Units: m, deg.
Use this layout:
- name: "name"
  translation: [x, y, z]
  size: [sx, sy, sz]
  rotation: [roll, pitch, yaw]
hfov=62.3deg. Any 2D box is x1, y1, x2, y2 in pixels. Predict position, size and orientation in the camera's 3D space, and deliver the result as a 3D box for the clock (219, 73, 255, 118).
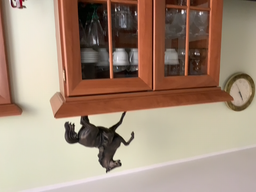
- name: "clock"
  translation: [0.840, -0.010, 1.630]
  size: [0.280, 0.320, 0.050]
  rotation: [-4, -169, -22]
